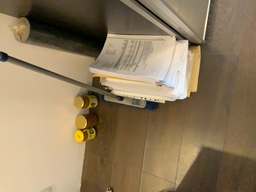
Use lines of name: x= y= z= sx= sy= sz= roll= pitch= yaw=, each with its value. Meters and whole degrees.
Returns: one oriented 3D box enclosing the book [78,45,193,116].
book: x=0.040 y=-0.080 z=0.990 sx=0.420 sy=0.310 sz=0.250 roll=7 pitch=95 yaw=30
